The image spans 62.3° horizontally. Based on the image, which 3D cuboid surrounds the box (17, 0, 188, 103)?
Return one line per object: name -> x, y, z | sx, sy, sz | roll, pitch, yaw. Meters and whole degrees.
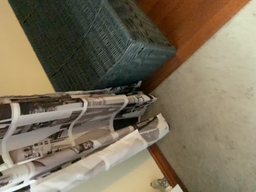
box -> -0.210, -0.490, 1.150 | 0.440, 0.460, 0.940 | -44, 71, 29
